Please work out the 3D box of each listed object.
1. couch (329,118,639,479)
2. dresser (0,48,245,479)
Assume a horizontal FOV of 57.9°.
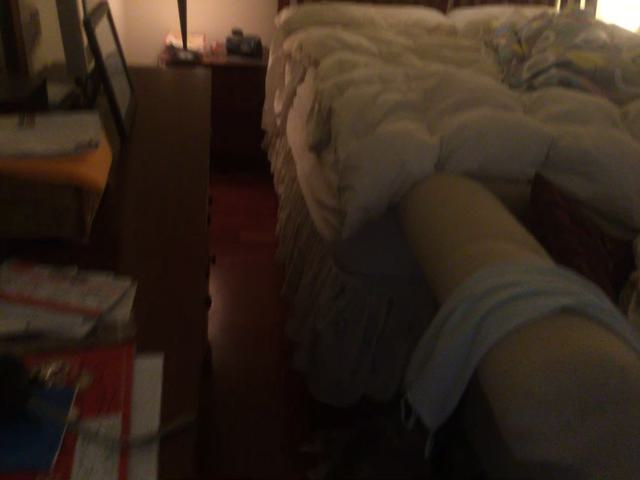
[{"bbox_3d":[1.070,0.260,1.300,1.930,0.830,0.870,-4,30,-10],"label":"couch"},{"bbox_3d":[-0.490,0.220,1.230,0.580,0.870,1.670,-4,30,-10],"label":"dresser"}]
